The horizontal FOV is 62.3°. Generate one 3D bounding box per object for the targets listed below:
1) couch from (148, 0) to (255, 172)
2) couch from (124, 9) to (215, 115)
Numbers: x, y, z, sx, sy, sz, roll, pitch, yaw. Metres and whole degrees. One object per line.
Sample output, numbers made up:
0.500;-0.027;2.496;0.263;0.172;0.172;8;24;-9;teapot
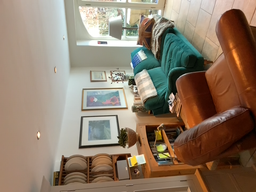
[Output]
0.850;0.010;1.920;1.200;0.940;1.080;108;158;-63;couch
0.540;-0.730;3.870;1.990;0.880;1.060;-104;16;-51;couch
